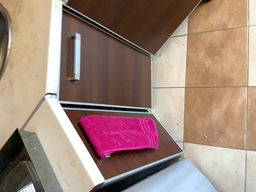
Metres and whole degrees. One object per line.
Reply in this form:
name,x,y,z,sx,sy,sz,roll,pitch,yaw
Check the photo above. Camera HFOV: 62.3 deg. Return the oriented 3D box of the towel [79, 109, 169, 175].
towel,0.010,0.170,0.890,0.090,0.410,0.200,-42,66,21
